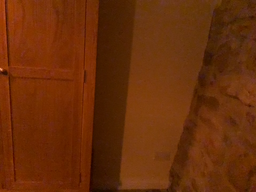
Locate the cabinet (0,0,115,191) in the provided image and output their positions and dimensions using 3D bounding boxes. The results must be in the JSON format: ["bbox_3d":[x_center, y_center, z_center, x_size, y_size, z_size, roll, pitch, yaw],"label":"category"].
[{"bbox_3d":[-0.640,-0.130,1.270,1.010,1.900,0.600,2,16,-10],"label":"cabinet"}]
